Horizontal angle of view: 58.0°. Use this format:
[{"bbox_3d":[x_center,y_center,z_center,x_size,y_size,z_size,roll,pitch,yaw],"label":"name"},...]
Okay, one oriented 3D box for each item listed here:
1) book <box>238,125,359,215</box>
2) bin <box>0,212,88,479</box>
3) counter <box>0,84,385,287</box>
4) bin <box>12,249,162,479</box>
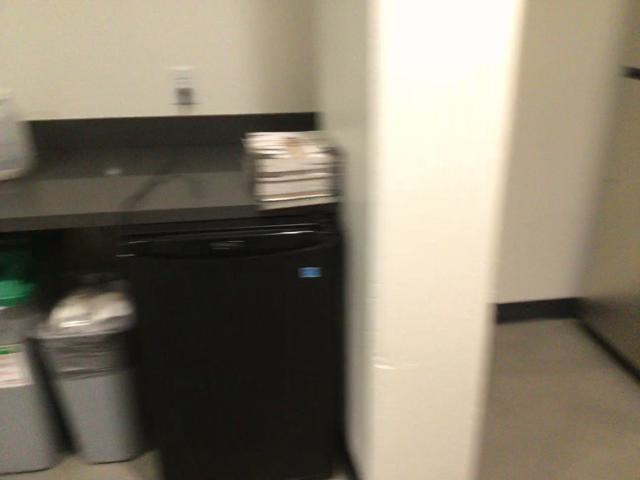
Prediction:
[{"bbox_3d":[-0.070,-0.200,1.550,0.270,0.160,0.340,-4,19,-10],"label":"book"},{"bbox_3d":[-0.930,0.330,1.710,0.300,0.680,0.490,-2,26,-11],"label":"bin"},{"bbox_3d":[-0.670,-0.180,1.590,1.560,0.350,0.670,-6,20,-10],"label":"counter"},{"bbox_3d":[-0.670,0.370,1.760,0.310,0.570,0.410,-2,19,-11],"label":"bin"}]
